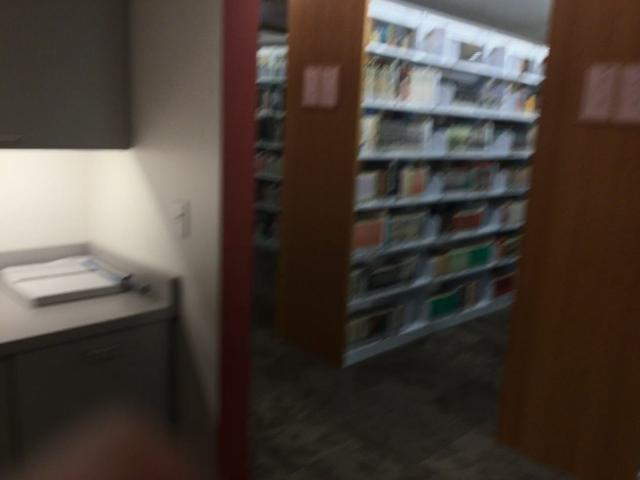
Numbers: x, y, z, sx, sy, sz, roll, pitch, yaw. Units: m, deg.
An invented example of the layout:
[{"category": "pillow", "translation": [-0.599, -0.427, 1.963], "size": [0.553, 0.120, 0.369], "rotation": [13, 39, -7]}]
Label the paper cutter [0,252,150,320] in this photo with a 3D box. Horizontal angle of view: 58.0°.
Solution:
[{"category": "paper cutter", "translation": [-0.860, 0.140, 1.970], "size": [0.480, 0.060, 0.340], "rotation": [14, 17, 42]}]

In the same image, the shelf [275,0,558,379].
[{"category": "shelf", "translation": [0.770, -0.470, 4.060], "size": [0.600, 2.170, 2.300], "rotation": [14, 17, 42]}]
